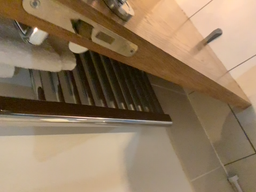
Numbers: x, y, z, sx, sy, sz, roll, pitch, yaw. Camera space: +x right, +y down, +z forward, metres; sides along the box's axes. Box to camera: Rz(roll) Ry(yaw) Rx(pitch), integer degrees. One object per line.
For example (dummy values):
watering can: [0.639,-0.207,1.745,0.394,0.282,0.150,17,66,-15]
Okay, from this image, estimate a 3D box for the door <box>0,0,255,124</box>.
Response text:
door: [-0.220,-0.420,0.410,0.220,2.150,0.950,-42,61,24]
